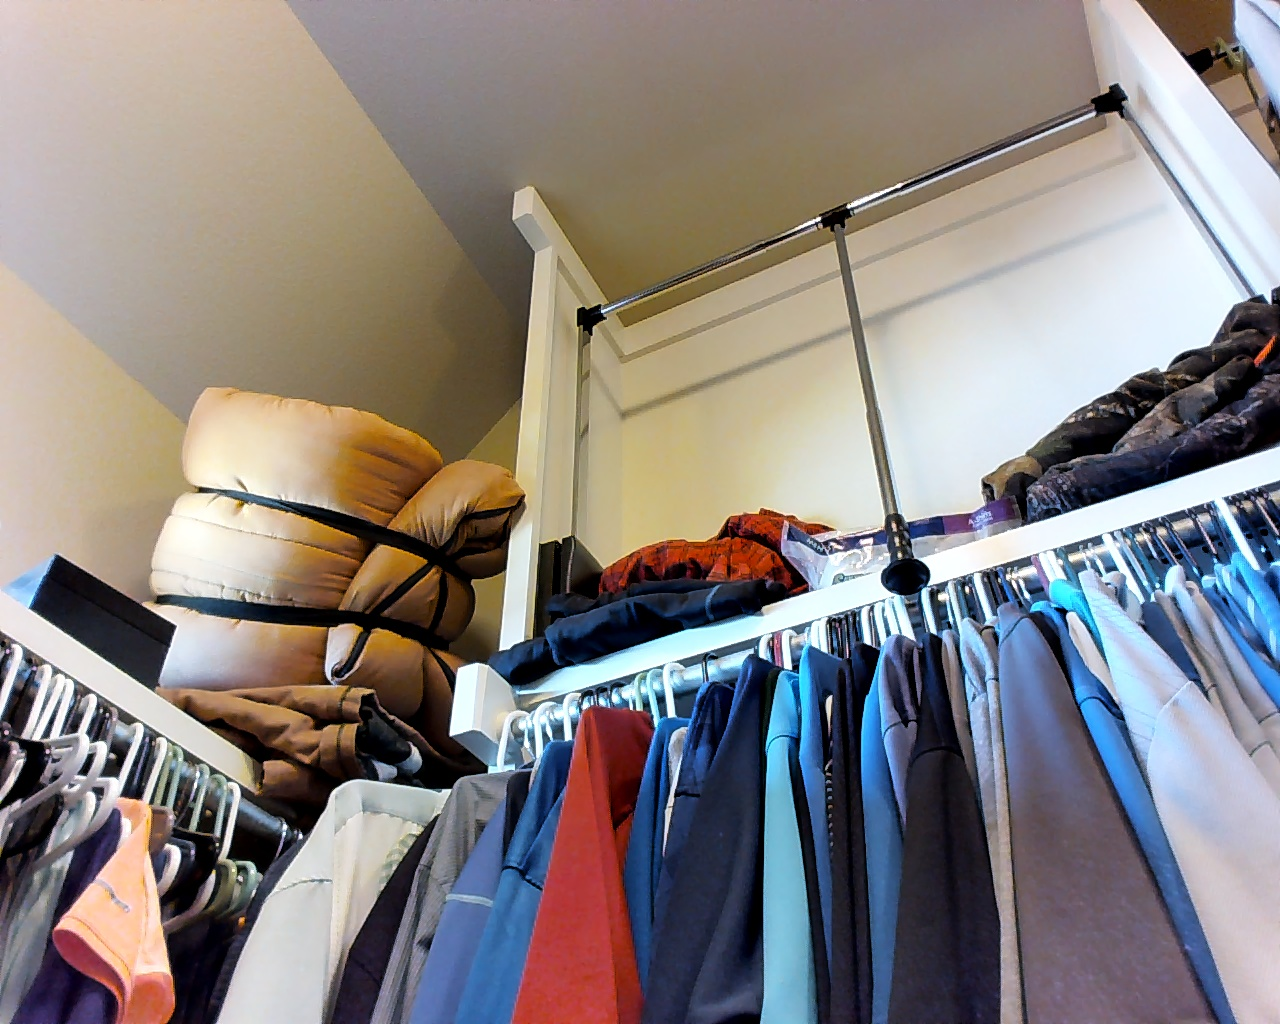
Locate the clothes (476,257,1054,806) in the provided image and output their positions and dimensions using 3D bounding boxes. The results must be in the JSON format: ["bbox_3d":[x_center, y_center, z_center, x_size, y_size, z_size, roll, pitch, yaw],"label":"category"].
[{"bbox_3d":[0.150,0.040,1.450,0.610,0.460,0.350,-20,-46,18],"label":"clothes"}]

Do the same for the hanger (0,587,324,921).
[{"bbox_3d":[-0.500,0.260,1.080,0.060,0.130,0.460,-20,-46,18],"label":"hanger"}]
